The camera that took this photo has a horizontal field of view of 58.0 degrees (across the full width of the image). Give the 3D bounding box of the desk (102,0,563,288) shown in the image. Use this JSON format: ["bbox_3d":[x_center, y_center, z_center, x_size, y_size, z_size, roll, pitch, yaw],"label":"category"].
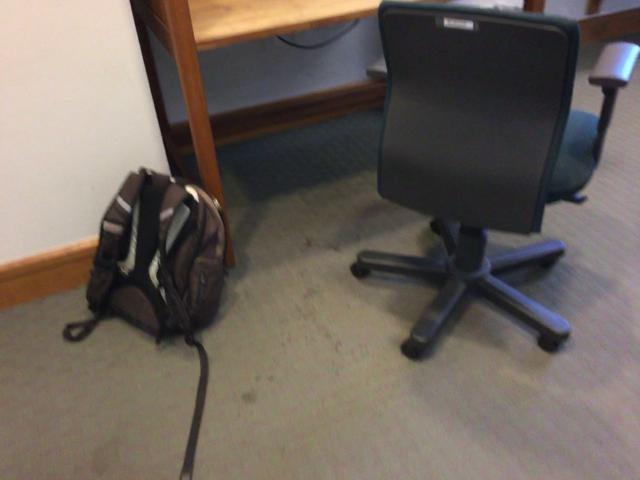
[{"bbox_3d":[-0.040,-0.870,2.060,1.340,1.390,1.050,-18,38,-16],"label":"desk"}]

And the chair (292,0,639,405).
[{"bbox_3d":[0.430,-0.220,1.520,0.660,0.920,0.660,15,41,26],"label":"chair"}]
